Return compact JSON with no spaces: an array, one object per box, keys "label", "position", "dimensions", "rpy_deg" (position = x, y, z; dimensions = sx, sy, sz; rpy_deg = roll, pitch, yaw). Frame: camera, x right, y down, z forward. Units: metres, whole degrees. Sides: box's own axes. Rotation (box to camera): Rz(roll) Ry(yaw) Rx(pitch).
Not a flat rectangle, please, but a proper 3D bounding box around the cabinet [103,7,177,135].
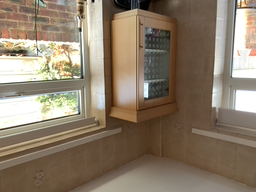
[{"label":"cabinet","position":[0.130,-0.220,1.910],"dimensions":[0.330,0.950,0.600],"rpy_deg":[8,-167,43]}]
